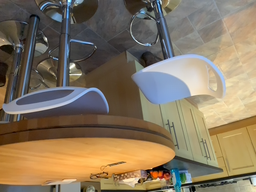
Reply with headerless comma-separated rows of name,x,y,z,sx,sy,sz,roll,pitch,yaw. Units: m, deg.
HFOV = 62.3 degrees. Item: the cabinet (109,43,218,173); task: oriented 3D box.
cabinet,0.450,0.270,2.180,0.300,0.870,1.600,-22,149,28
